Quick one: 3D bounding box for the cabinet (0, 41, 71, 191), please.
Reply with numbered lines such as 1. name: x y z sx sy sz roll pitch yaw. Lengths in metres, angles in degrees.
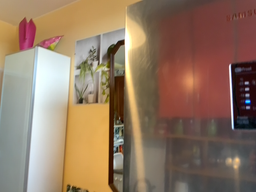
1. cabinet: -0.740 0.670 1.530 0.460 2.030 0.290 -2 -7 31
